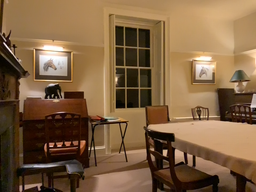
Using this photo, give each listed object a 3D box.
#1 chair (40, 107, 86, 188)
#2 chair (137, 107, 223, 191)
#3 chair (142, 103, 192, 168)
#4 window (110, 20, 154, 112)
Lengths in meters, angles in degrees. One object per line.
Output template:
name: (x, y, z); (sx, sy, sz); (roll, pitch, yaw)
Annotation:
chair: (-0.820, 0.620, 2.780); (0.520, 0.900, 0.510); (-1, 0, -11)
chair: (0.440, 0.590, 1.920); (0.550, 0.940, 0.530); (-1, 1, -19)
chair: (0.610, 0.590, 3.450); (0.590, 0.910, 0.580); (0, 0, -19)
window: (0.090, -0.620, 4.650); (0.900, 1.900, 0.250); (-1, 0, -20)
